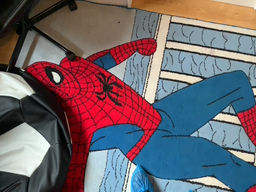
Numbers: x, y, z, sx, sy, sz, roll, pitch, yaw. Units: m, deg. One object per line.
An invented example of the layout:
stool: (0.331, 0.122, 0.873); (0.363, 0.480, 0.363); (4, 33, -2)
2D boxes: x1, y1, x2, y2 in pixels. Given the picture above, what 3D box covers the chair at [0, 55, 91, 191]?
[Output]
chair: (-0.690, 0.270, 1.040); (0.760, 0.330, 0.890); (11, 78, 4)
